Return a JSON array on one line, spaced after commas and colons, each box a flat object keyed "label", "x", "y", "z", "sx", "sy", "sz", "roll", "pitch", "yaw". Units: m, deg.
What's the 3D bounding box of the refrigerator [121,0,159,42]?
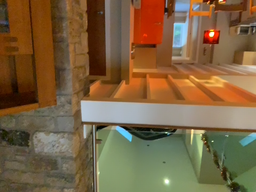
[{"label": "refrigerator", "x": 0.280, "y": -2.140, "z": 5.390, "sx": 0.730, "sy": 1.460, "sz": 0.720, "roll": -5, "pitch": -165, "yaw": -21}]
